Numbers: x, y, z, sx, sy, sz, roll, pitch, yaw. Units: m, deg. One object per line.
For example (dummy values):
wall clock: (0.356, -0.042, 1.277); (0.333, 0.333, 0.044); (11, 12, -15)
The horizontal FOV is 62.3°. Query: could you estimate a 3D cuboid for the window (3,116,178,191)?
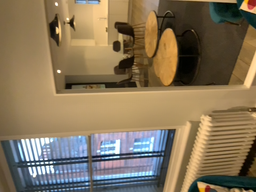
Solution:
window: (-0.320, 0.700, 2.210); (0.130, 1.560, 0.980); (-109, 19, -59)
